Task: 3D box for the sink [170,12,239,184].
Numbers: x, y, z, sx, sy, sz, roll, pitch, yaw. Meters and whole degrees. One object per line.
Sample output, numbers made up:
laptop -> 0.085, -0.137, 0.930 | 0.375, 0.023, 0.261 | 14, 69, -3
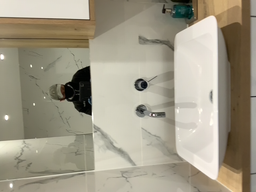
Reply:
sink -> 0.300, 0.000, 0.910 | 0.360, 0.100, 0.590 | -161, 69, -77
